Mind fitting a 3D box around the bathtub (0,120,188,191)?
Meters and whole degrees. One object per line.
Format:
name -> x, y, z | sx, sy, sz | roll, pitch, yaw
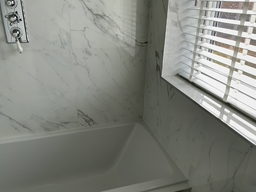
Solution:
bathtub -> -0.560, 0.680, 1.300 | 1.610, 0.570, 0.690 | -7, 25, -18
